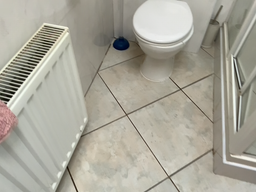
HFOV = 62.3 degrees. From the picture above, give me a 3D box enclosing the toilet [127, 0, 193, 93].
[{"bbox_3d":[0.220,-0.380,1.500,0.340,0.440,0.500,11,52,7],"label":"toilet"}]
